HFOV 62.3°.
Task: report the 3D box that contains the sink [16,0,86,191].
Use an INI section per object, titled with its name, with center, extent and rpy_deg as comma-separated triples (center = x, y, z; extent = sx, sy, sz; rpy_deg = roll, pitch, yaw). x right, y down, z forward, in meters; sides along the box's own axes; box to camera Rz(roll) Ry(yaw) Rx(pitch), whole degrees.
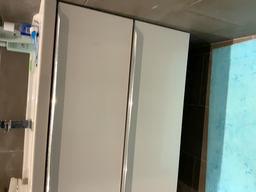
[sink]
center = -0.380, 0.180, 0.960
extent = 0.450, 0.190, 1.020
rpy_deg = 9, 95, 64
